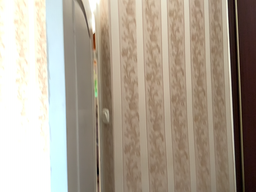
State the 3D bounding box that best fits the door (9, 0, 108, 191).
[{"bbox_3d":[-0.190,0.520,0.940,0.120,2.040,0.940,-2,0,0],"label":"door"}]
